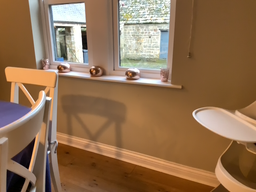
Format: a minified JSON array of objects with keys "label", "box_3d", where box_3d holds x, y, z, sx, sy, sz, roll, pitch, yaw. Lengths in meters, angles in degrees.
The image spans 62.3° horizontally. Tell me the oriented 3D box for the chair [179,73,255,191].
[{"label":"chair","box_3d":[0.740,0.350,1.190,0.640,0.840,0.550,-6,18,-17]}]
